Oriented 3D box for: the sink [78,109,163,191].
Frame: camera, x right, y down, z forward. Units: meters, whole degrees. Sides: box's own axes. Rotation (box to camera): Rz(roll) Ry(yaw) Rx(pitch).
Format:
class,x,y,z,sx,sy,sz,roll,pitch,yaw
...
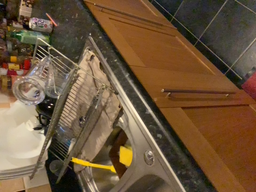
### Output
class,x,y,z,sx,sy,sz,roll,pitch,yaw
sink,-0.050,0.240,0.790,0.330,0.110,0.210,-58,49,34
